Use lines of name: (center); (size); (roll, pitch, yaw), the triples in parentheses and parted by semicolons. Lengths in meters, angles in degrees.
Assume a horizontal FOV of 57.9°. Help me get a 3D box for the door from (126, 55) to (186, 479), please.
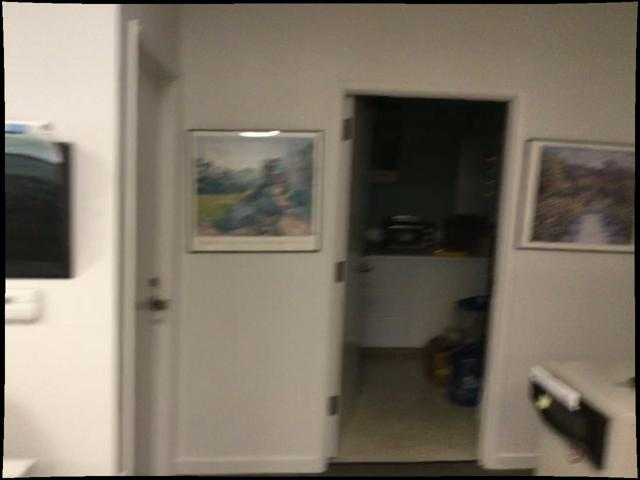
door: (-0.719, 0.190, 2.560); (0.130, 1.852, 0.580); (2, 8, -5)

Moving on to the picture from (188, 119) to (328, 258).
picture: (-0.310, -0.250, 2.870); (0.659, 0.651, 0.070); (2, 8, -5)

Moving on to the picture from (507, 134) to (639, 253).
picture: (1.379, -0.230, 2.940); (0.779, 0.561, 0.120); (2, 8, -5)
